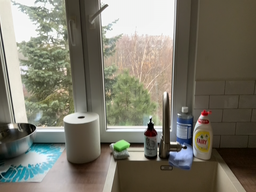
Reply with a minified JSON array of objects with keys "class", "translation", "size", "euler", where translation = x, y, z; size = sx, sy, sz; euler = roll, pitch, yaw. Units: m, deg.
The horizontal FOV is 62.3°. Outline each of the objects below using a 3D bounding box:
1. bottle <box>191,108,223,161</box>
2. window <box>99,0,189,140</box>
[{"class":"bottle","translation":[0.400,0.190,1.090],"size":[0.110,0.220,0.150],"euler":[1,14,8]},{"class":"window","translation":[0.080,-0.380,1.130],"size":[0.450,1.280,0.090],"euler":[0,14,4]}]
